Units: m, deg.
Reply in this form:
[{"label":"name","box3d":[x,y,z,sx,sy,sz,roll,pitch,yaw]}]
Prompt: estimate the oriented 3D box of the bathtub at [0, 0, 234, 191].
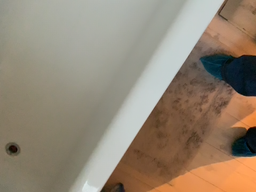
[{"label":"bathtub","box3d":[-0.270,-0.150,0.790,0.730,0.600,1.660,30,101,-7]}]
